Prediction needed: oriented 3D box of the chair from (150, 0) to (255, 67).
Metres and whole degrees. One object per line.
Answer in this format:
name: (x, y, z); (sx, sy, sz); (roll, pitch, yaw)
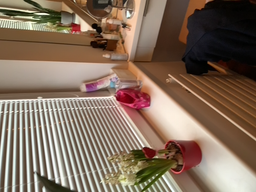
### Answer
chair: (0.560, -0.440, 1.380); (0.460, 0.630, 0.330); (51, 136, 50)

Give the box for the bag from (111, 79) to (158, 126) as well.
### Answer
bag: (0.030, 0.030, 1.220); (0.220, 0.160, 0.180); (48, 133, 53)
